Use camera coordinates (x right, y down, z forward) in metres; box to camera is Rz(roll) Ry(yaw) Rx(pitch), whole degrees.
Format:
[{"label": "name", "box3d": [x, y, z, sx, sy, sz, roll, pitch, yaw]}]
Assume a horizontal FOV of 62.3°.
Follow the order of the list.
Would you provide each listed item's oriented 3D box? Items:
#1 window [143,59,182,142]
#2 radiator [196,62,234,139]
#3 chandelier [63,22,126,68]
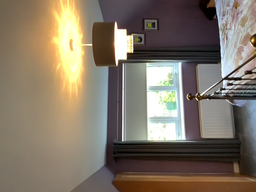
[{"label": "window", "box3d": [0.660, 0.070, 4.190, 0.120, 0.710, 1.620, 83, -173, -80]}, {"label": "radiator", "box3d": [1.570, 0.070, 3.860, 0.100, 0.540, 1.390, 84, -173, -80]}, {"label": "chandelier", "box3d": [-0.230, -0.370, 1.590, 0.250, 0.430, 0.260, 79, -169, -84]}]
